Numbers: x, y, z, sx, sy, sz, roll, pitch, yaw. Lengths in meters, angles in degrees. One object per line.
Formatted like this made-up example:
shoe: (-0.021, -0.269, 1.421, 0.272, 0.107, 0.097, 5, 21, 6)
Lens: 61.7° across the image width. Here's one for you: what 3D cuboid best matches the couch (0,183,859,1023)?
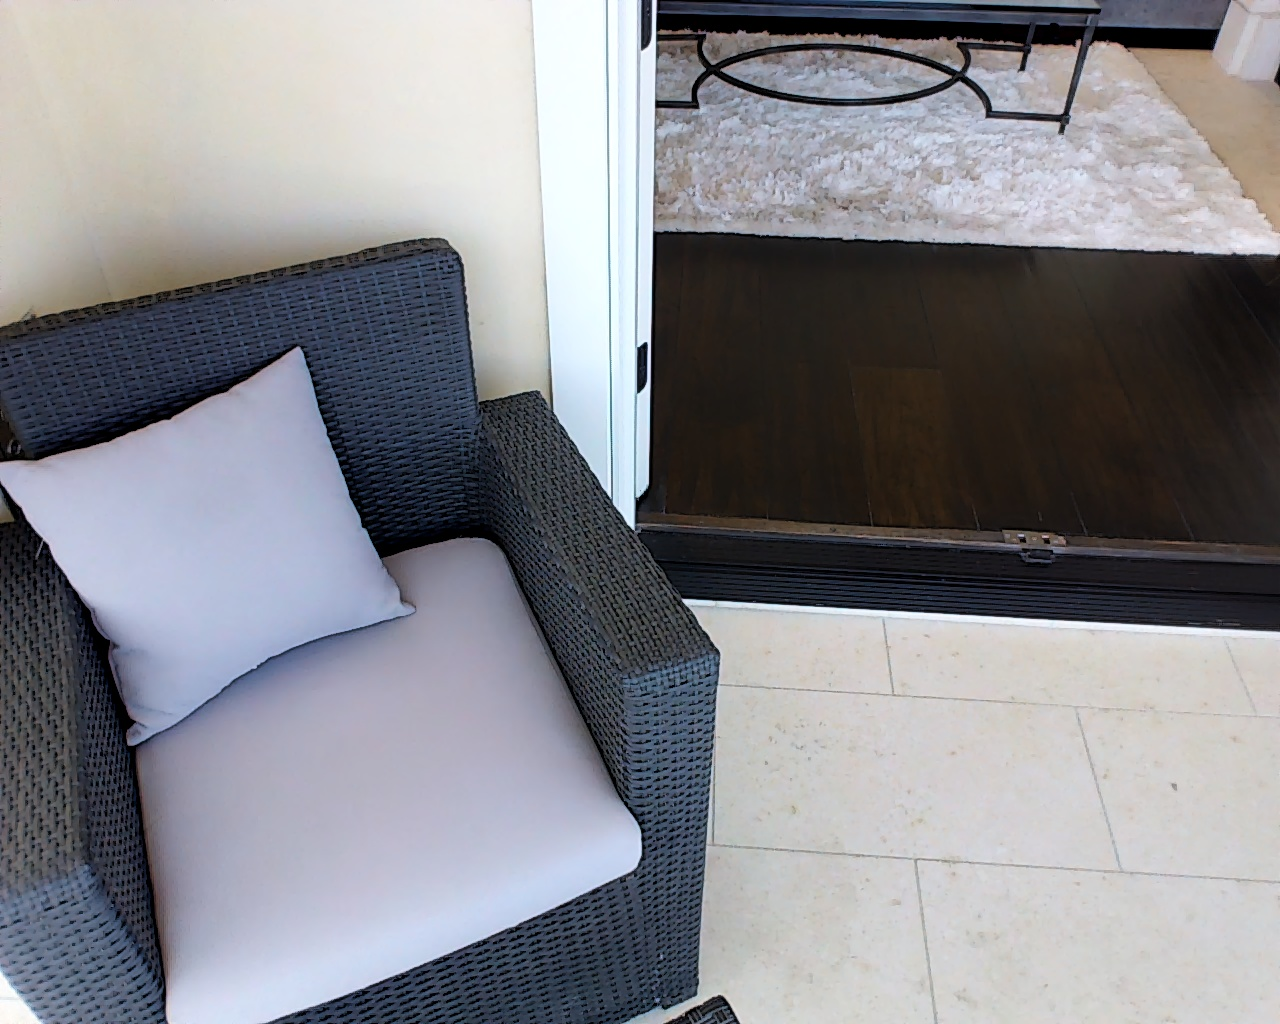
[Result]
couch: (-0.360, 0.230, 1.370, 0.810, 0.850, 0.860, -17, 45, -18)
